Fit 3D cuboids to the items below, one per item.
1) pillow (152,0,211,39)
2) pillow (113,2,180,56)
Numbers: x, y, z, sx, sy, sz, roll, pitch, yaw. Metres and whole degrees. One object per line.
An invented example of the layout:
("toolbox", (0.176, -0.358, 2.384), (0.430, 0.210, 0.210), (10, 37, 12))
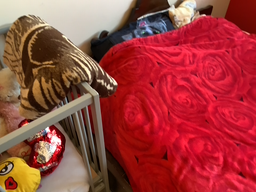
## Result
("pillow", (0.400, -0.620, 1.610), (0.370, 0.190, 0.220), (-31, 53, -29))
("pillow", (0.120, -0.460, 1.420), (0.380, 0.180, 0.220), (-30, 53, -28))
